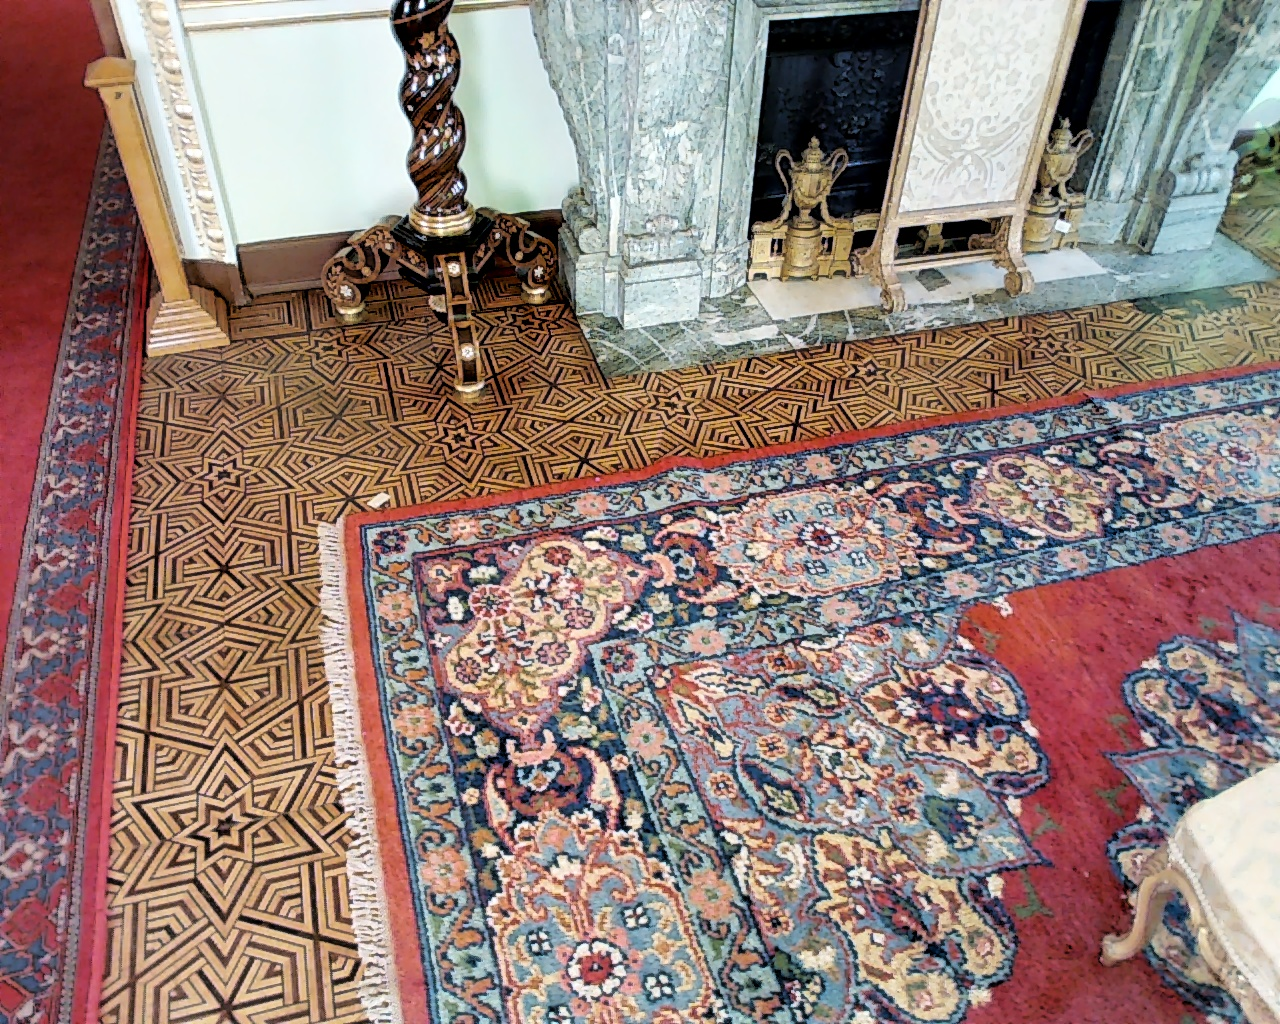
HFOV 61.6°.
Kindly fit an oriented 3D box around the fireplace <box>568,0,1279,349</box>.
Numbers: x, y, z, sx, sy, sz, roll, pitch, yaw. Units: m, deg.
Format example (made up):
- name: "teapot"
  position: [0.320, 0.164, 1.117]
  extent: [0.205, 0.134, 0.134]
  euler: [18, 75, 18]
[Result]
- name: "fireplace"
  position: [1.010, -1.370, 3.190]
  extent: [2.359, 1.320, 0.590]
  euler: [-10, 43, -13]
